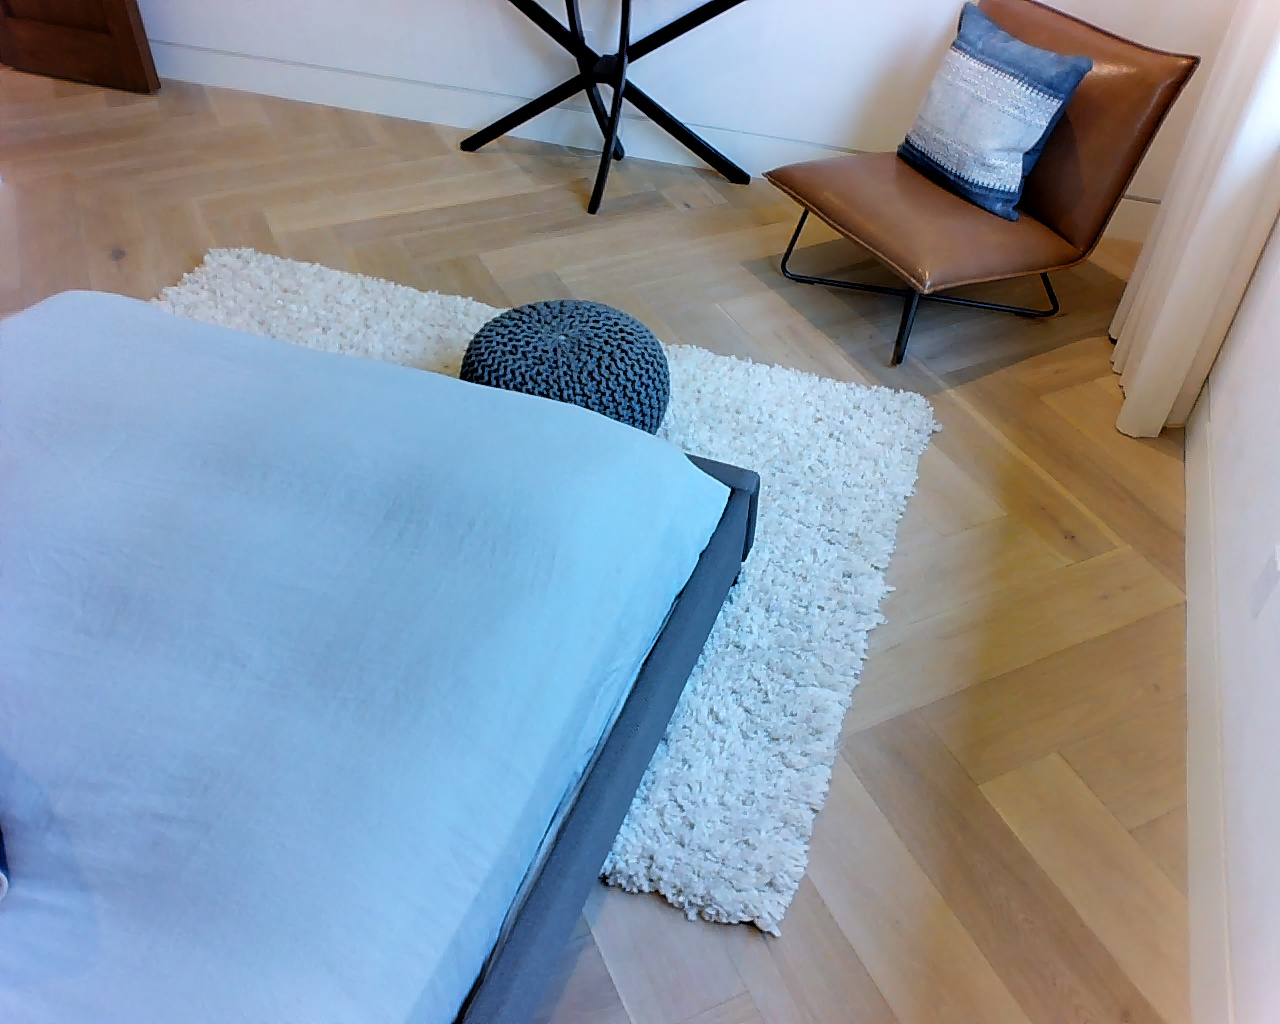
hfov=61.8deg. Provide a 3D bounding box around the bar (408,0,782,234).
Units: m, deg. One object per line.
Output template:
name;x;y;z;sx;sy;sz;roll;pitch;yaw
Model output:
bar;-0.140;-1.470;3.520;1.090;0.780;0.460;14;44;14

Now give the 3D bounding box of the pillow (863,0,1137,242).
pillow;0.940;-1.090;2.890;0.280;0.450;0.550;-13;51;-26

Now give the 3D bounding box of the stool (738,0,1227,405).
stool;0.860;-0.920;2.950;0.820;0.730;0.820;-19;46;-21
